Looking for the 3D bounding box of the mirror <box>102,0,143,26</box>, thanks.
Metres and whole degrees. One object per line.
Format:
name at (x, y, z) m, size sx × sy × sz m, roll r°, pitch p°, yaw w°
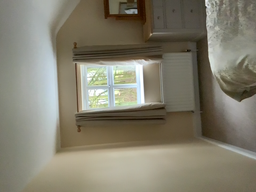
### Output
mirror at (-0.100, -1.430, 3.350) m, size 0.240 × 0.610 × 0.560 m, roll 165°, pitch 102°, yaw -83°
